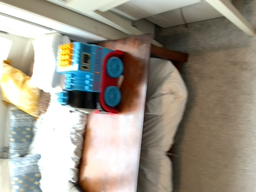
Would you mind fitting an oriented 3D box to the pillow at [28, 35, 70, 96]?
[{"bbox_3d":[-0.620,-0.240,1.640,0.390,0.110,0.410,13,95,46],"label":"pillow"}]

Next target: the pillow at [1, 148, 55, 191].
[{"bbox_3d":[-0.880,0.740,1.830,0.250,0.260,0.460,-30,37,44],"label":"pillow"}]

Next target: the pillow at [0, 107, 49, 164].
[{"bbox_3d":[-0.960,0.350,1.930,0.450,0.220,0.090,-58,20,-22],"label":"pillow"}]

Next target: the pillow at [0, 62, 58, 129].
[{"bbox_3d":[-0.910,0.000,1.840,0.380,0.430,0.120,-39,8,17],"label":"pillow"}]

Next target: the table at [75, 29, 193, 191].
[{"bbox_3d":[0.030,0.230,1.540,0.590,0.480,1.200,4,88,46],"label":"table"}]
